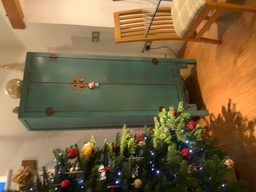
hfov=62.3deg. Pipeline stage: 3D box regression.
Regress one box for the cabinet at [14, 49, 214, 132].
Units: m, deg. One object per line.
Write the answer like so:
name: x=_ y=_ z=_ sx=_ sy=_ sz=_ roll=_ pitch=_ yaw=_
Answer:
cabinet: x=-0.110 y=-0.040 z=2.330 sx=0.450 sy=1.890 sz=0.710 roll=115 pitch=153 yaw=-63
